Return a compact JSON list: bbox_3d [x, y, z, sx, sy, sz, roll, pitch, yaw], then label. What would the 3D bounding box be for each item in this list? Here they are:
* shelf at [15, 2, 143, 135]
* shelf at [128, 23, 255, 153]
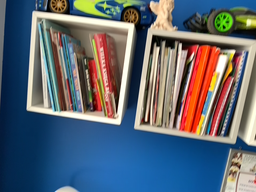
[{"bbox_3d":[-0.170,-0.110,0.840,0.390,0.380,0.270,10,12,2],"label":"shelf"},{"bbox_3d":[0.210,-0.040,0.820,0.340,0.370,0.280,9,9,4],"label":"shelf"}]
